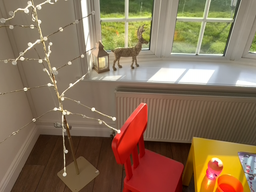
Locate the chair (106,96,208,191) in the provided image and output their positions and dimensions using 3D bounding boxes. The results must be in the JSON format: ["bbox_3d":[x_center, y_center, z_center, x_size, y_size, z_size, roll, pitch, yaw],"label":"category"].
[{"bbox_3d":[0.160,0.440,1.320,0.420,0.680,0.400,18,39,22],"label":"chair"}]
